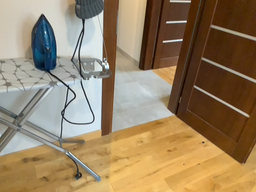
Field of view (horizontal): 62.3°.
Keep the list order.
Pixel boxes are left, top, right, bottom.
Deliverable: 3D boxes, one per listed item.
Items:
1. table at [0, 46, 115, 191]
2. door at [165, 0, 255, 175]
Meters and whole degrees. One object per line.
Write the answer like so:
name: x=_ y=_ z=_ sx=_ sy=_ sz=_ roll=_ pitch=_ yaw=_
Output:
table: x=-0.860 y=0.240 z=1.270 sx=1.440 sy=0.870 sz=0.460 roll=-10 pitch=35 yaw=-25
door: x=0.800 y=-0.420 z=1.650 sx=0.130 sy=2.100 sz=0.840 roll=-12 pitch=36 yaw=-28
